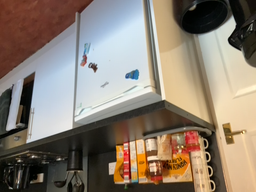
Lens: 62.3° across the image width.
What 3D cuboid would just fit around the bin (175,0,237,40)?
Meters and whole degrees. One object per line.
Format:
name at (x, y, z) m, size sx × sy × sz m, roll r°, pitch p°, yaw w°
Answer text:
bin at (0.490, -0.600, 1.380) m, size 0.280 × 0.290 × 0.230 m, roll -21°, pitch 152°, yaw 35°
